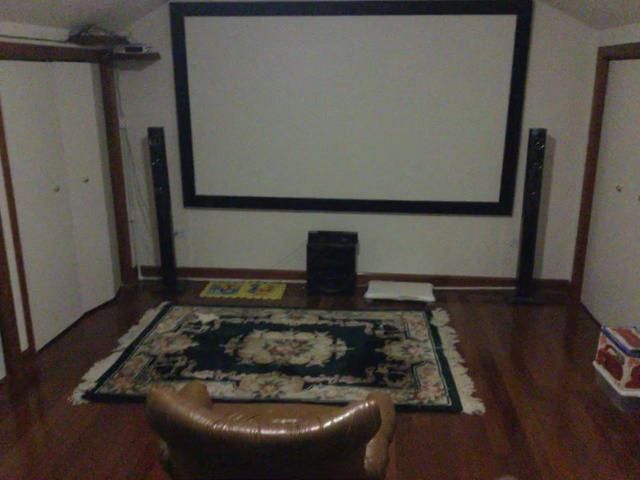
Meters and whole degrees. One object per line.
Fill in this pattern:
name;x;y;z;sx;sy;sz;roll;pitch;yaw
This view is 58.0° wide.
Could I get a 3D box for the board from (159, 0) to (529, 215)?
board;0.120;-0.940;3.740;2.240;1.500;0.180;2;18;7
